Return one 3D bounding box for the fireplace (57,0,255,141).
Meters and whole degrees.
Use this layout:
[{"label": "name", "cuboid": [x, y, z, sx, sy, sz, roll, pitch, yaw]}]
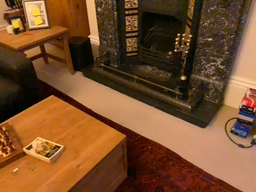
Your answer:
[{"label": "fireplace", "cuboid": [0.190, -0.670, 1.950, 1.860, 1.280, 0.650, 26, 44, 32]}]
